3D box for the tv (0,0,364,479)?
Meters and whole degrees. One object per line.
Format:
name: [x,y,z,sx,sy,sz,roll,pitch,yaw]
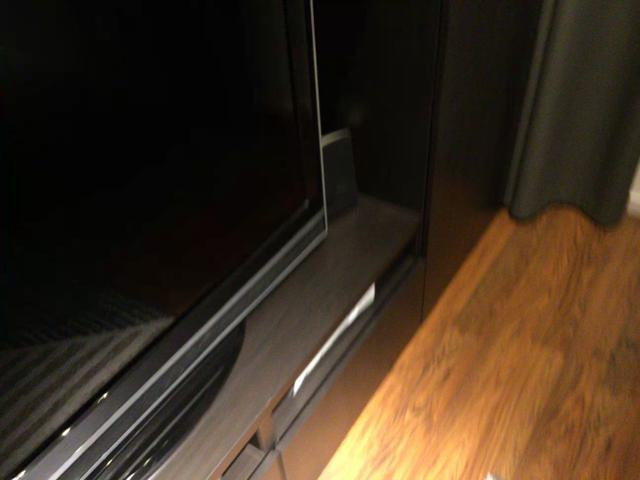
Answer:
tv: [-0.300,0.030,0.740,0.120,0.740,1.070,20,47,30]
